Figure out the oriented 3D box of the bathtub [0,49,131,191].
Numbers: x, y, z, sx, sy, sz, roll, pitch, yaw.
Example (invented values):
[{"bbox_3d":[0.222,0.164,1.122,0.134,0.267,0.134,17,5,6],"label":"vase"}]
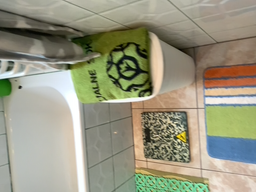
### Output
[{"bbox_3d":[-0.400,0.600,1.430,0.680,0.480,1.660,-3,92,31],"label":"bathtub"}]
